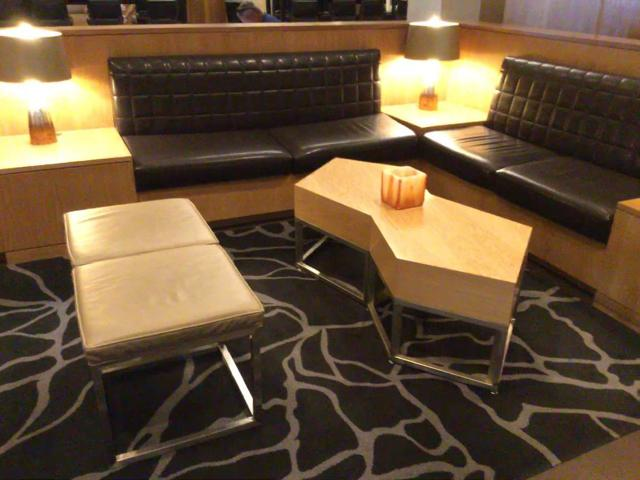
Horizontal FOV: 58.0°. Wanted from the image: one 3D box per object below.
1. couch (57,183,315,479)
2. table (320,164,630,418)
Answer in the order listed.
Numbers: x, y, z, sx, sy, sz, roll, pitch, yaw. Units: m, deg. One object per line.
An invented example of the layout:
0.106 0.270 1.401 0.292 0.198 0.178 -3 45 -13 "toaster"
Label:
-0.540 0.210 2.100 0.670 0.470 1.050 -12 25 -20 "couch"
0.540 0.110 2.370 0.730 0.520 0.990 -12 25 -20 "table"
